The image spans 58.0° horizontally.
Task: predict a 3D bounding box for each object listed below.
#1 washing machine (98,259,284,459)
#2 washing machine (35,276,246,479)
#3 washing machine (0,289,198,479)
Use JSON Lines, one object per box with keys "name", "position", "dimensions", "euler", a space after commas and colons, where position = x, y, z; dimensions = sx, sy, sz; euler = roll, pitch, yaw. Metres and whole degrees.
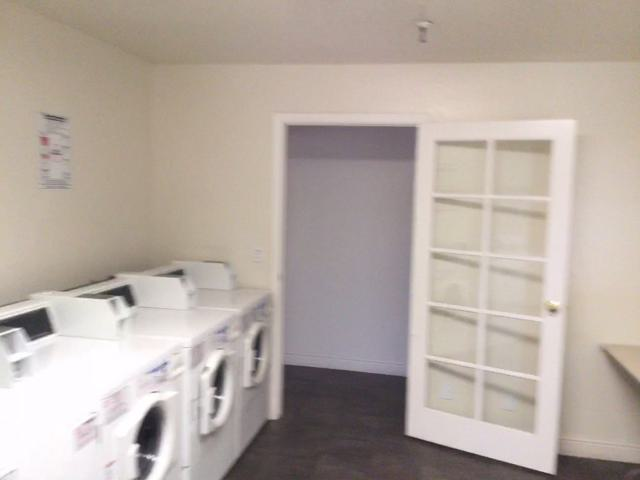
{"name": "washing machine", "position": [-0.760, 0.690, 3.640], "dimensions": [0.880, 1.030, 0.690], "euler": [0, 8, 11]}
{"name": "washing machine", "position": [-0.890, 0.760, 3.030], "dimensions": [0.760, 1.020, 0.650], "euler": [0, 8, 14]}
{"name": "washing machine", "position": [-1.010, 0.790, 2.370], "dimensions": [0.750, 1.040, 0.670], "euler": [0, 8, 11]}
